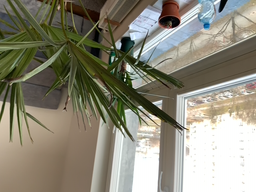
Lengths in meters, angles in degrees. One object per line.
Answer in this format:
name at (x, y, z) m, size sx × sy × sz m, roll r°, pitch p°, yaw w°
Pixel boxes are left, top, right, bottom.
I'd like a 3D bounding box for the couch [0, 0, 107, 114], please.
couch at (-1.540, -0.550, 2.320) m, size 2.270 × 1.010 × 1.090 m, roll 13°, pitch 164°, yaw -25°
